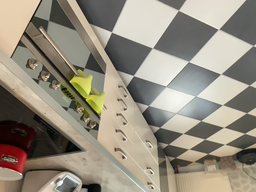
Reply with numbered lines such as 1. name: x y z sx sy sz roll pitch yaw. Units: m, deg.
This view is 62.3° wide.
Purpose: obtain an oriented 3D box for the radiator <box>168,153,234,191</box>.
1. radiator: 1.090 1.330 3.200 0.850 0.790 0.170 -13 140 16
